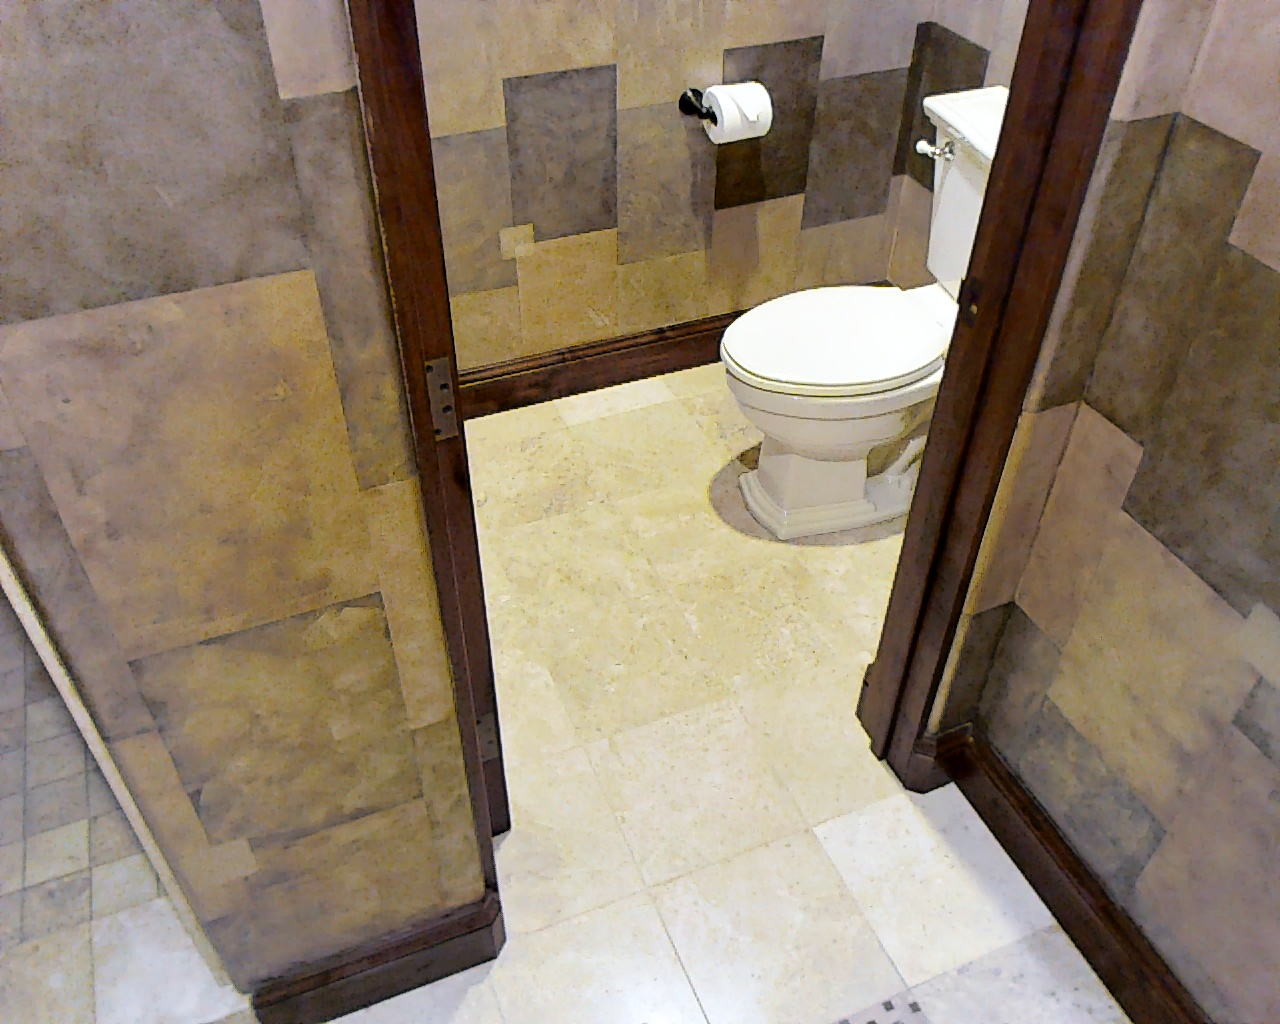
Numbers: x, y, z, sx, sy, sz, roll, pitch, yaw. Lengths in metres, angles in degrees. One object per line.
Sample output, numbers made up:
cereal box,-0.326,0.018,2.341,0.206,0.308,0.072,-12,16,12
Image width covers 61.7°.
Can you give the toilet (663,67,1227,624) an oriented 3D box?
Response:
toilet,0.550,-0.360,2.260,0.830,0.850,0.560,-15,44,-17
